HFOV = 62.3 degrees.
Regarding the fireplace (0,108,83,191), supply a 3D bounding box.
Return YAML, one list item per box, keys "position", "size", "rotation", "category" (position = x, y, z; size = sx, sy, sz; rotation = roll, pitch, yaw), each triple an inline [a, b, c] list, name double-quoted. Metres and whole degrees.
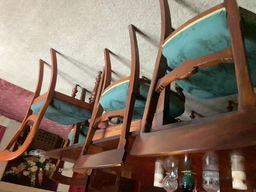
- position: [-1.730, 1.080, 3.560]
  size: [0.710, 1.160, 1.540]
  rotation: [-19, 142, 42]
  category: "fireplace"
